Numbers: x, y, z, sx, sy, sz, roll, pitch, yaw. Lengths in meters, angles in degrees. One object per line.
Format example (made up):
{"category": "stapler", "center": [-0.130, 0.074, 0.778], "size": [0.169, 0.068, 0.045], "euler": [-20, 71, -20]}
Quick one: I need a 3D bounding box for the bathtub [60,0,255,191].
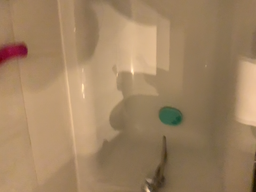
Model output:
{"category": "bathtub", "center": [0.160, -0.430, 0.910], "size": [0.690, 0.540, 1.720], "euler": [2, 105, 19]}
